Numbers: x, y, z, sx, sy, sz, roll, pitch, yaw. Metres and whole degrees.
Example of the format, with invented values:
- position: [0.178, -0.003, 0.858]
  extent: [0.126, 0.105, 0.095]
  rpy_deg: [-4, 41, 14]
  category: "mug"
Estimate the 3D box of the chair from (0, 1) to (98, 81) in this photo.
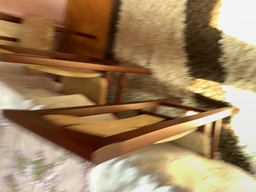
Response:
- position: [-0.770, -0.380, 1.480]
  extent: [0.490, 0.990, 0.410]
  rpy_deg: [21, 103, 35]
  category: "chair"
